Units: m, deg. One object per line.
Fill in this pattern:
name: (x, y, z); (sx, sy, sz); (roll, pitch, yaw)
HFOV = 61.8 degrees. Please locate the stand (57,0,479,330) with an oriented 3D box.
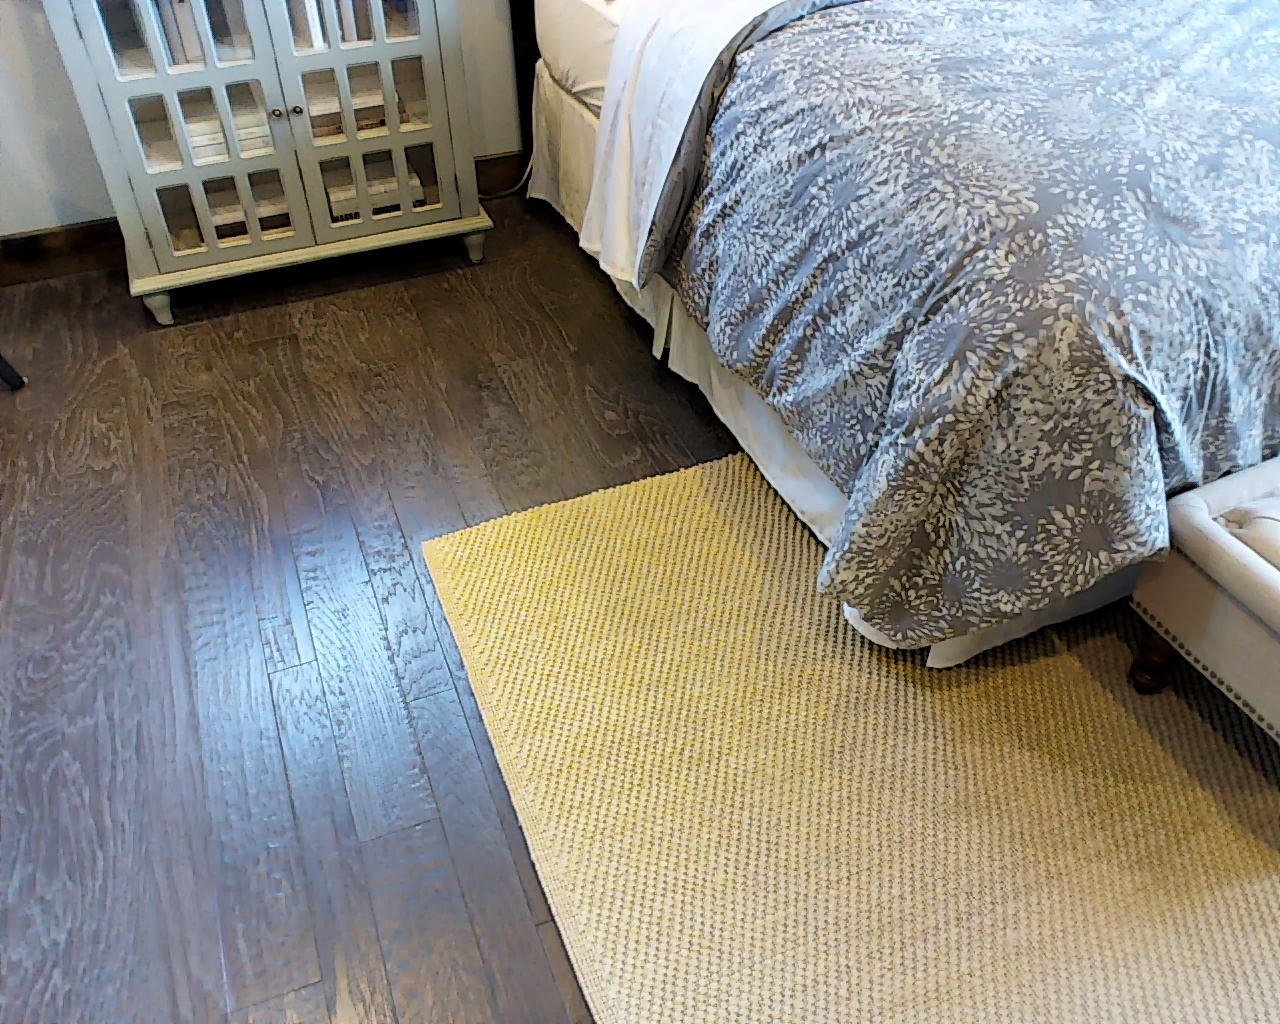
stand: (-0.910, -1.050, 2.670); (0.790, 0.860, 0.580); (-16, 44, -17)

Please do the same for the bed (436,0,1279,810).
bed: (0.770, -0.910, 2.280); (1.880, 1.170, 2.230); (-16, 44, -17)
